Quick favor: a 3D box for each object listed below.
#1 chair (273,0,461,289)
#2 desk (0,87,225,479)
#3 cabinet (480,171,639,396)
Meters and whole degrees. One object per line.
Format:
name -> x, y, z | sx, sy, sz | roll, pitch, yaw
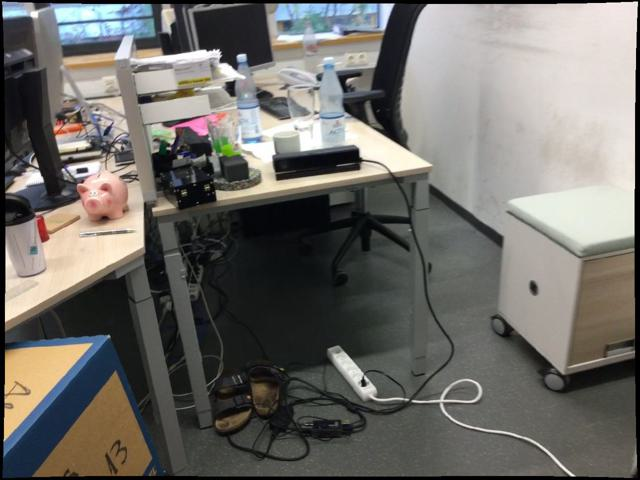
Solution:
chair -> 0.190, -0.501, 2.660 | 0.569, 1.141, 0.750 | -10, 26, -12
desk -> -1.029, 0.170, 1.880 | 1.189, 0.801, 2.260 | -10, 26, -12
cabinet -> 0.879, 0.120, 1.970 | 0.440, 0.530, 0.480 | -10, 26, -12
